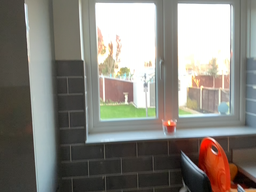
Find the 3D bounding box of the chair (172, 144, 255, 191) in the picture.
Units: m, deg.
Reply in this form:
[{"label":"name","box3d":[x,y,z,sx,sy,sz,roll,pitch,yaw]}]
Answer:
[{"label":"chair","box3d":[0.550,0.840,1.190,0.480,1.010,0.410,-2,5,-8]}]
